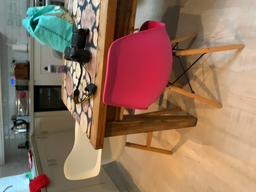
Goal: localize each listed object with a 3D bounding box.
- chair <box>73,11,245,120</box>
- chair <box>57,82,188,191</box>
[{"bbox_3d":[0.150,-0.190,1.250,0.530,0.790,0.430,29,117,57],"label":"chair"},{"bbox_3d":[-0.090,0.270,1.700,0.640,0.790,0.650,27,115,57],"label":"chair"}]
